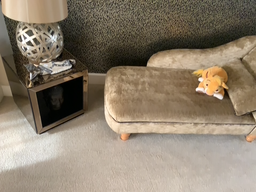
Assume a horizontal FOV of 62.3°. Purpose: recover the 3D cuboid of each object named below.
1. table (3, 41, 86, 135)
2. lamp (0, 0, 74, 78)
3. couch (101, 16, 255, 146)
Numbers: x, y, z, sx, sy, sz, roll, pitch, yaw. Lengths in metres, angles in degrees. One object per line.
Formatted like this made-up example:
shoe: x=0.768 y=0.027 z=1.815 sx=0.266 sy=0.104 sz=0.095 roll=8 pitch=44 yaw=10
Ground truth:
table: x=-0.640 y=-0.080 z=1.700 sx=0.420 sy=0.500 sz=0.420 roll=-26 pitch=52 yaw=-35
lamp: x=-0.580 y=-0.530 z=1.370 sx=0.370 sy=0.620 sz=0.500 roll=-7 pitch=43 yaw=-19
couch: x=0.620 y=-0.120 z=1.870 sx=1.640 sy=0.710 sz=0.800 roll=2 pitch=41 yaw=-11
